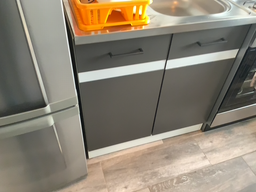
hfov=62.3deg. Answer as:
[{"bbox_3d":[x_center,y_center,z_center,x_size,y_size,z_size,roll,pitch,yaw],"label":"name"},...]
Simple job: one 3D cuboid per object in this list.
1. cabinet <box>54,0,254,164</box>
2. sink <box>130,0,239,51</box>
[{"bbox_3d":[0.050,-0.160,1.300,0.800,0.850,0.580,-11,46,-16],"label":"cabinet"},{"bbox_3d":[0.250,-0.440,1.090,0.340,0.150,0.460,-11,46,-16],"label":"sink"}]
